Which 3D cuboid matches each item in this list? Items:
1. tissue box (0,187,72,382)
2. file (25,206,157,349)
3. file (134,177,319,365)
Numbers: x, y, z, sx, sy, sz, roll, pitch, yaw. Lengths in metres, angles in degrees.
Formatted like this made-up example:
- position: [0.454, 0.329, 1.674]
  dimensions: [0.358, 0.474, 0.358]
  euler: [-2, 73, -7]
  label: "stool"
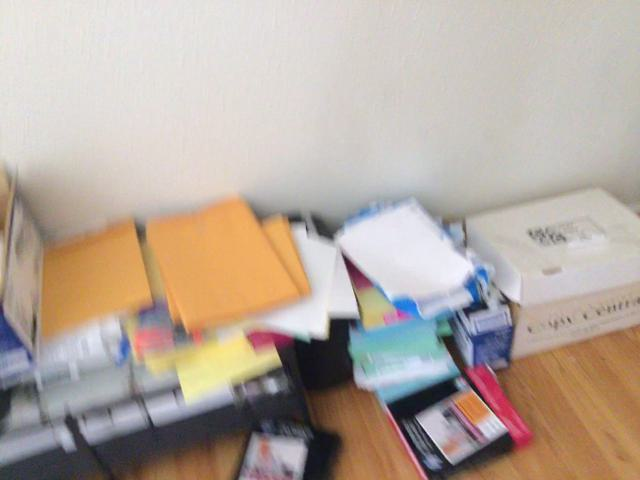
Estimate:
- position: [-0.680, 0.090, 1.210]
  dimensions: [0.200, 0.190, 0.390]
  euler: [-14, 38, -6]
  label: "tissue box"
- position: [-0.500, 0.070, 1.310]
  dimensions: [0.240, 0.070, 0.340]
  euler: [-14, 38, -6]
  label: "file"
- position: [-0.230, 0.050, 1.360]
  dimensions: [0.360, 0.130, 0.420]
  euler: [-14, 38, -6]
  label: "file"
